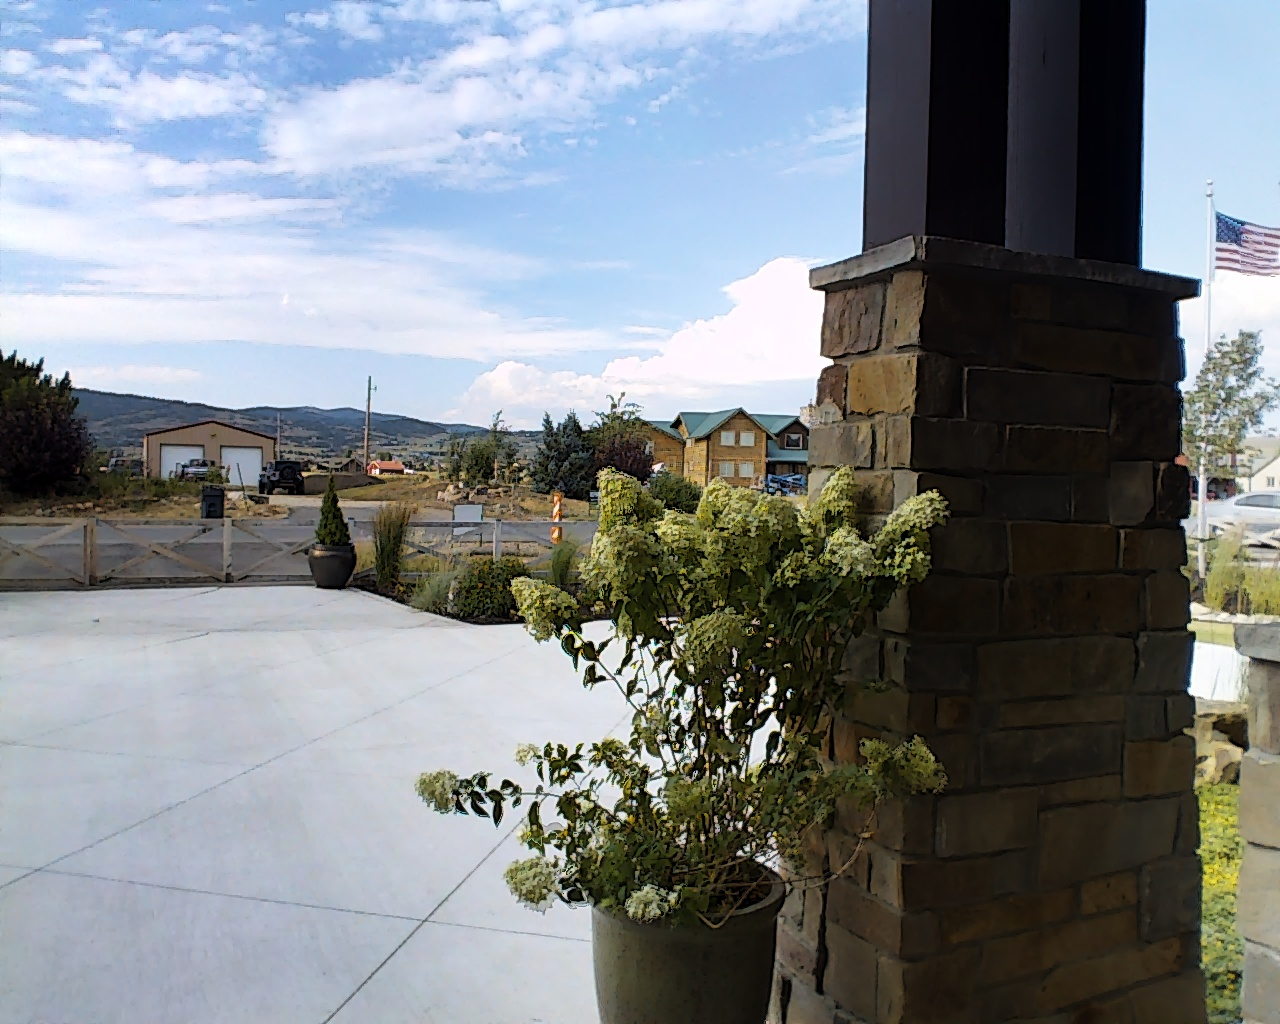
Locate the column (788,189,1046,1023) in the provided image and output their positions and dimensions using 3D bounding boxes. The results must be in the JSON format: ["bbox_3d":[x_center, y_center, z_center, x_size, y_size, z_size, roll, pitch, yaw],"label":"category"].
[{"bbox_3d":[0.610,0.350,2.410,0.440,2.020,0.220,3,2,42],"label":"column"}]
